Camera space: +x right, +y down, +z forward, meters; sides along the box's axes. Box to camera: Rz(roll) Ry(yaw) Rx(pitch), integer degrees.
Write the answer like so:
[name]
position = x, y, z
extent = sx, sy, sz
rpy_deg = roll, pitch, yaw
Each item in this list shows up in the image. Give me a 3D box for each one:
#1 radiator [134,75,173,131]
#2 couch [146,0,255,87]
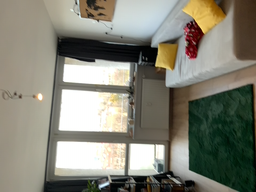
[radiator]
position = 0.550, 0.160, 4.530
extent = 0.140, 0.820, 1.140
rpy_deg = 139, 133, -77
[couch]
position = 0.910, -0.750, 3.200
extent = 2.360, 0.650, 0.960
rpy_deg = 164, 109, -80
